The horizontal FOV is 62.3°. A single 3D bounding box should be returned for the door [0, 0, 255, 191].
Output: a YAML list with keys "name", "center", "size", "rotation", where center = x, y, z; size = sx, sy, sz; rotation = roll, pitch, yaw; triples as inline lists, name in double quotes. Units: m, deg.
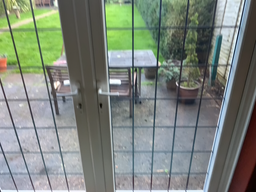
- name: "door"
  center: [-0.240, 0.000, 1.270]
  size: [1.680, 2.130, 0.050]
  rotation: [0, 28, 1]
